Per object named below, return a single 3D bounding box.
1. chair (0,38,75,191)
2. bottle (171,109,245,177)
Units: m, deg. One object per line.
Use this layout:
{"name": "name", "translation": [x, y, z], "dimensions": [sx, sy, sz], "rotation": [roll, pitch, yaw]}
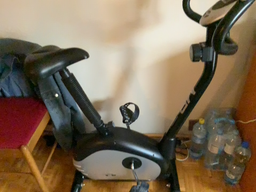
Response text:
{"name": "chair", "translation": [-0.680, 0.140, 1.280], "dimensions": [0.430, 0.800, 0.540], "rotation": [1, 36, 6]}
{"name": "bottle", "translation": [0.490, 0.300, 1.410], "dimensions": [0.370, 0.260, 0.340], "rotation": [2, 36, 6]}
